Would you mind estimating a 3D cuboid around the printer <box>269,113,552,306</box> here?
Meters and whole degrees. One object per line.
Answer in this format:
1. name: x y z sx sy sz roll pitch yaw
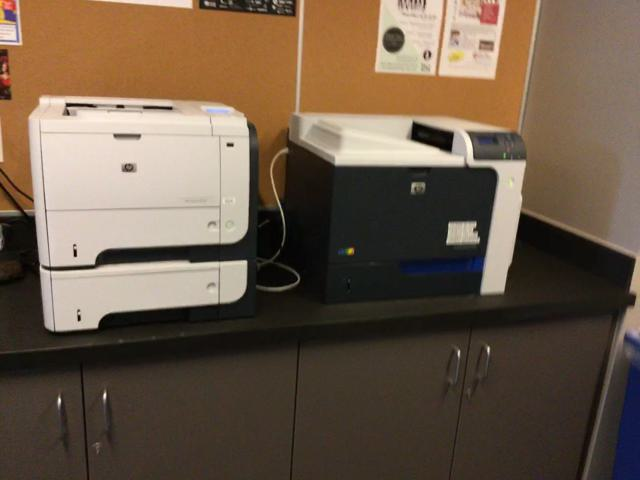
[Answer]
1. printer: 0.210 -0.120 1.660 0.590 0.420 0.530 -1 15 -18
